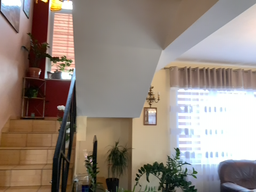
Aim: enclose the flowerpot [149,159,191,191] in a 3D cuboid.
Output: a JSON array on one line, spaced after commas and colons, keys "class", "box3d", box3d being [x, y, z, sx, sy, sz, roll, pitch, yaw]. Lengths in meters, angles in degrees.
[{"class": "flowerpot", "box3d": [0.690, 1.590, 3.620, 0.580, 0.900, 0.560, 1, -7, -3]}]
